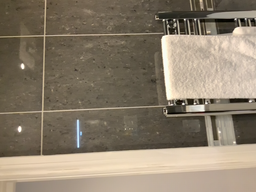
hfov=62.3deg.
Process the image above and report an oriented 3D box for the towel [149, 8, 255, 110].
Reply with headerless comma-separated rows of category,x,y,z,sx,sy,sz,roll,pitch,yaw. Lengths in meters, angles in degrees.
towel,0.490,-0.140,0.780,0.130,0.790,0.330,104,164,-76
